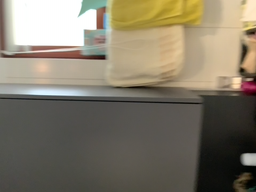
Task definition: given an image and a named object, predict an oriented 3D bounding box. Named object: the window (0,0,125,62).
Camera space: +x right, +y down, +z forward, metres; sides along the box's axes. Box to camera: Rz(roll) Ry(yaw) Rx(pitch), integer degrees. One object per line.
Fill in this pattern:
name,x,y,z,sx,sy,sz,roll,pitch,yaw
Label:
window,-0.460,-0.940,1.350,0.200,0.870,1.410,-78,-11,-78
